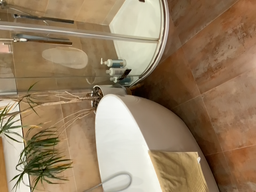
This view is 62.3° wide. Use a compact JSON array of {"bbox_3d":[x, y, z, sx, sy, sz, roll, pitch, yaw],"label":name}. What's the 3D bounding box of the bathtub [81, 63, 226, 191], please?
[{"bbox_3d":[0.220,0.730,1.680,0.810,0.580,1.770,-33,67,51],"label":"bathtub"}]
